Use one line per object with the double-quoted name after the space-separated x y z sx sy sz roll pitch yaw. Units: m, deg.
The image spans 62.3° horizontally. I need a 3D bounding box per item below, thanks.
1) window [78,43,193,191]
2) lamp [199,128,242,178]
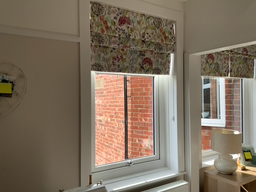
0.080 0.230 2.150 1.030 1.290 0.540 0 0 -29 "window"
1.030 0.610 2.360 0.330 0.450 0.300 0 0 -30 "lamp"
